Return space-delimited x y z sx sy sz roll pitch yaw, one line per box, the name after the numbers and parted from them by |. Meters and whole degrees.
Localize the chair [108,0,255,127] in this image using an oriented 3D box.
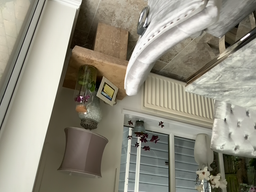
0.390 -0.480 0.980 0.700 1.010 0.580 15 152 -20 | chair

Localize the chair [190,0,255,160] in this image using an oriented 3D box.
0.990 -0.080 1.710 0.610 0.990 0.700 12 153 -14 | chair
